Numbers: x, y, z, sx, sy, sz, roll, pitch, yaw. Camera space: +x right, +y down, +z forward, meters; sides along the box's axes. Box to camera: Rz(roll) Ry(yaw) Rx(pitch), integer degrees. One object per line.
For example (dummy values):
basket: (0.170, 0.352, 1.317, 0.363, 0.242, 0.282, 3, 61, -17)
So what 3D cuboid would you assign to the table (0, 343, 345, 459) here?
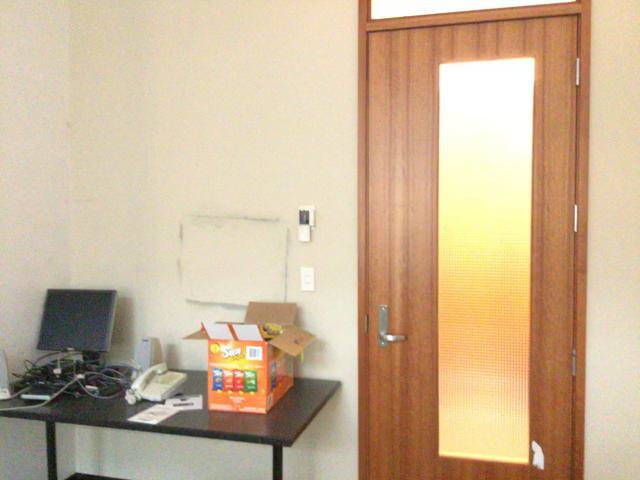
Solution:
table: (-0.700, 0.660, 2.580, 1.470, 0.170, 0.780, 2, -2, 17)

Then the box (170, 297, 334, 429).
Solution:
box: (-0.260, 0.490, 2.520, 0.460, 0.420, 0.680, 2, -2, 17)

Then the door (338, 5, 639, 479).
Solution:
door: (0.720, 0.220, 2.530, 1.200, 2.340, 0.210, 2, -2, 17)
